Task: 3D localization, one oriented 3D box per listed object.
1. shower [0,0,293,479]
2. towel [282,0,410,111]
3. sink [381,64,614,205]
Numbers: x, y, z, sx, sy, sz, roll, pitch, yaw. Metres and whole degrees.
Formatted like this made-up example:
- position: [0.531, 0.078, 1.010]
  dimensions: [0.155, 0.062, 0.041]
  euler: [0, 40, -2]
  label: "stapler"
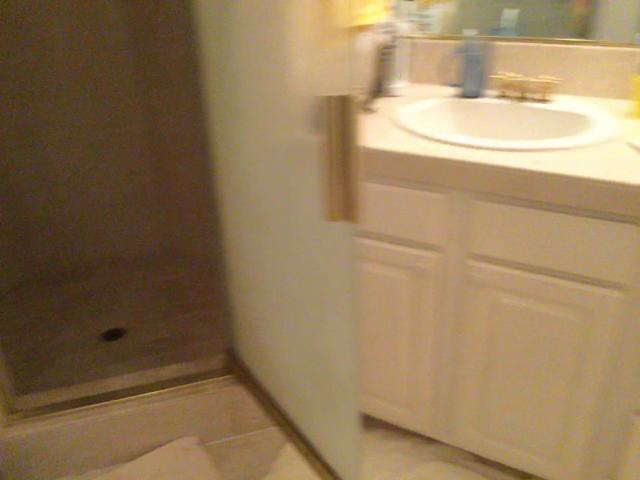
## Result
- position: [-0.800, -0.210, 1.820]
  dimensions: [1.180, 1.430, 1.180]
  euler: [-7, 26, -10]
  label: "shower"
- position: [0.080, -0.520, 1.440]
  dimensions: [0.130, 0.300, 0.410]
  euler: [13, 29, 29]
  label: "towel"
- position: [0.430, -0.280, 1.380]
  dimensions: [0.410, 0.190, 0.440]
  euler: [13, 29, 29]
  label: "sink"
